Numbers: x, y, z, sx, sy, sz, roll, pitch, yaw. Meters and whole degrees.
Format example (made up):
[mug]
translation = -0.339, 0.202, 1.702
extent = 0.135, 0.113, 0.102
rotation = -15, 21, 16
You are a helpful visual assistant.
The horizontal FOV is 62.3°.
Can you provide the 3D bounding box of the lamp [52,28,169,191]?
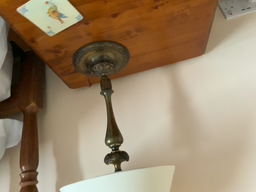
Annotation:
[lamp]
translation = -0.030, 0.110, 0.520
extent = 0.190, 0.460, 0.230
rotation = -15, 155, 5
